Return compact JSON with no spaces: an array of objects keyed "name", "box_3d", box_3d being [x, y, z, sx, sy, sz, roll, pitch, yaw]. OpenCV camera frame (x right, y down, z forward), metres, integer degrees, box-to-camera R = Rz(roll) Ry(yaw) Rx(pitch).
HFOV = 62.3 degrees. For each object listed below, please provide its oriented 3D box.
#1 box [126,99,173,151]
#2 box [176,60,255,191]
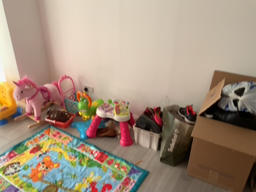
[{"name":"box","box_3d":[0.230,0.300,2.320,0.370,0.330,0.350,17,31,27]},{"name":"box","box_3d":[0.840,0.310,1.660,0.580,0.930,0.690,18,32,29]}]
